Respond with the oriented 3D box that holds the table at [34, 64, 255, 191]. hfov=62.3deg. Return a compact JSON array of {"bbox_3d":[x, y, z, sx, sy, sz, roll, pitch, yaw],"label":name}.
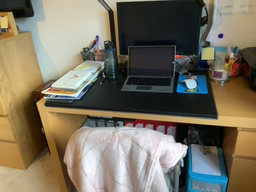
[{"bbox_3d":[0.310,0.250,1.390,1.460,0.710,0.660,3,27,14],"label":"table"}]
